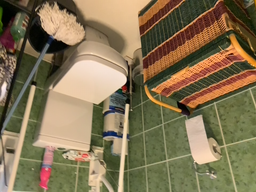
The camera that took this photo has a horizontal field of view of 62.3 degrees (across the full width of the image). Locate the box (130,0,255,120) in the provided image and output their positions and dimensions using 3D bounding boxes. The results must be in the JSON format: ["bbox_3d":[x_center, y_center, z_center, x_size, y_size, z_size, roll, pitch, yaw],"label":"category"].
[{"bbox_3d":[0.370,-0.310,1.200,0.440,0.660,0.570,21,144,-34],"label":"box"}]
